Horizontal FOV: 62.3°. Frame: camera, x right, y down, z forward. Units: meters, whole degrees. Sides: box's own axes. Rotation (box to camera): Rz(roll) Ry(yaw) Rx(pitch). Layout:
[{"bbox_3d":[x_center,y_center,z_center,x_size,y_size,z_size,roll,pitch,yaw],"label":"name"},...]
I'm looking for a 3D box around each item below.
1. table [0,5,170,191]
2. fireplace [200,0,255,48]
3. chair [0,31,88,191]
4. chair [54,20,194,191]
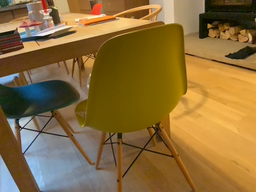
[{"bbox_3d":[-0.640,-0.290,1.860,0.950,0.780,1.990,-19,30,-21],"label":"table"},{"bbox_3d":[1.400,-1.130,2.700,0.430,0.810,0.840,-19,30,-21],"label":"fireplace"},{"bbox_3d":[-0.560,0.080,1.180,0.440,0.730,0.400,-18,29,-18],"label":"chair"},{"bbox_3d":[-0.010,0.110,0.960,0.390,0.770,0.430,-17,29,-17],"label":"chair"}]
